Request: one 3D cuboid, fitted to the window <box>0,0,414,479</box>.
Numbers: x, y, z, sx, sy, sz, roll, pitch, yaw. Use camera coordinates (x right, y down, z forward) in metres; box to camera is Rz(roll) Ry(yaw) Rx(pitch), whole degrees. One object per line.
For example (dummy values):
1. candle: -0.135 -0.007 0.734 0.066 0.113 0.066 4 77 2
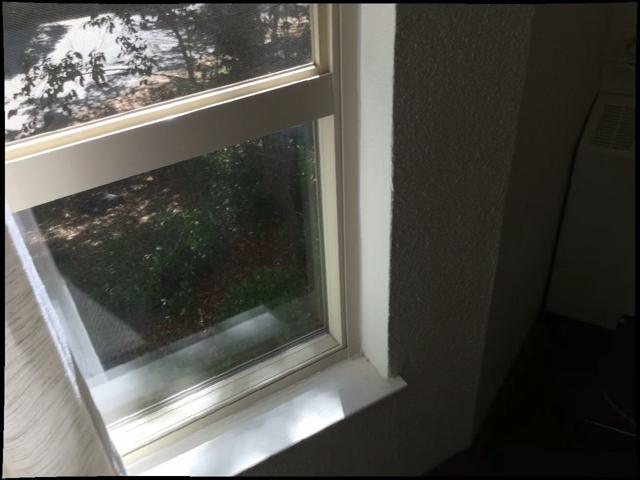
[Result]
1. window: -0.150 -0.110 0.800 0.539 1.192 0.210 -23 38 -23
